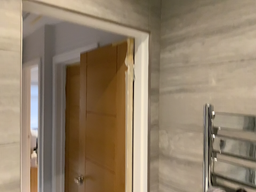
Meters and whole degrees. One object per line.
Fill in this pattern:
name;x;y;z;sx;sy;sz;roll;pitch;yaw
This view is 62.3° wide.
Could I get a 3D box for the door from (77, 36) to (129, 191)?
door;-0.200;0.600;1.430;0.020;1.880;0.600;0;1;-38
